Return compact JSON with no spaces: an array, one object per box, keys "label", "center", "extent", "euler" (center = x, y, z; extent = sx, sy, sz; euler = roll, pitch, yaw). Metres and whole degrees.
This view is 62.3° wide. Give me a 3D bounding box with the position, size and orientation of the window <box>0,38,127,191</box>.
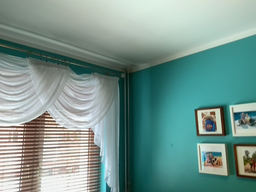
[{"label":"window","center":[-0.740,0.490,1.870],"extent":[1.790,1.790,0.190],"euler":[9,-14,-42]}]
